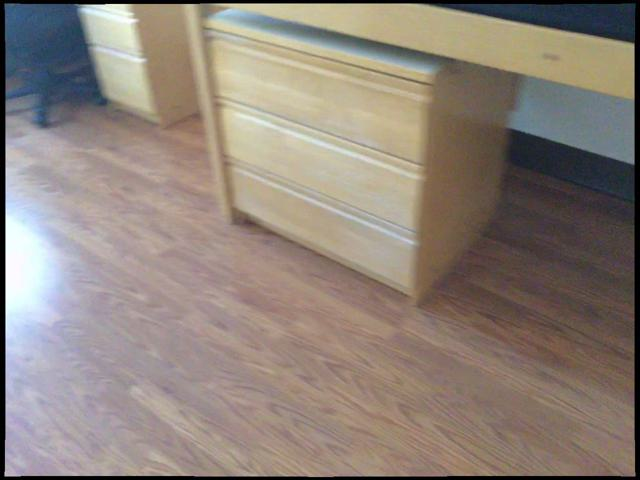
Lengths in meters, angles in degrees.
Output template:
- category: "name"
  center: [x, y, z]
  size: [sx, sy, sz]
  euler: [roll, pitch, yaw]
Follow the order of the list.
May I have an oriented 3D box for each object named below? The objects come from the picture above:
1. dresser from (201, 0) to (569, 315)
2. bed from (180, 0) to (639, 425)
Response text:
- category: "dresser"
  center: [0.220, -0.411, 1.970]
  size: [0.829, 0.771, 0.750]
  euler: [25, 47, 30]
- category: "bed"
  center: [0.798, -0.391, 1.670]
  size: [2.198, 1.081, 1.110]
  euler: [25, 47, 30]
